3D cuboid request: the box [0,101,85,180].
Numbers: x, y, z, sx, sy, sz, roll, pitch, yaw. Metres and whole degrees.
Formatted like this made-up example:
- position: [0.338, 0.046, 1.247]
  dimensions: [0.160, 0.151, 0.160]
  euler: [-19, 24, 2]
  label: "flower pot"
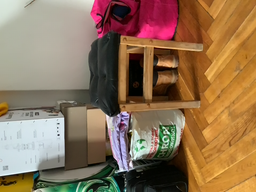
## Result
- position: [-0.510, 0.220, 1.300]
  dimensions: [0.460, 0.390, 0.340]
  euler: [-175, 84, -68]
  label: "box"
